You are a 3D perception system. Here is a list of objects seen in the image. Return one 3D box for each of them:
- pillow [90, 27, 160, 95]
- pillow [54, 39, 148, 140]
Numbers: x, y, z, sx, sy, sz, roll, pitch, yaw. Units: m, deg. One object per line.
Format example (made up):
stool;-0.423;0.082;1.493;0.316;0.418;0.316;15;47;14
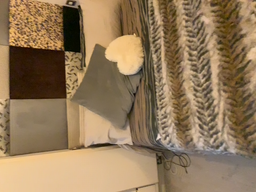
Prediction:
pillow;-0.020;-0.290;1.720;0.410;0.350;0.180;35;162;13
pillow;-0.180;-0.050;1.780;0.240;0.590;0.570;29;154;40
